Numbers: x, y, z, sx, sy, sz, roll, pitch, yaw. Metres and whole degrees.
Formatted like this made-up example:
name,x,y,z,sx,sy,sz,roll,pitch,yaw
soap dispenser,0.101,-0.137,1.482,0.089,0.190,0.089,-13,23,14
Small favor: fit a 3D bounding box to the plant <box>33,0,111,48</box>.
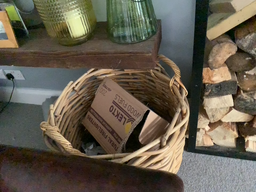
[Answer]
name,x,y,z,sx,sy,sz,roll,pitch,yaw
plant,-0.250,-0.430,0.940,0.230,0.370,0.210,3,44,16
